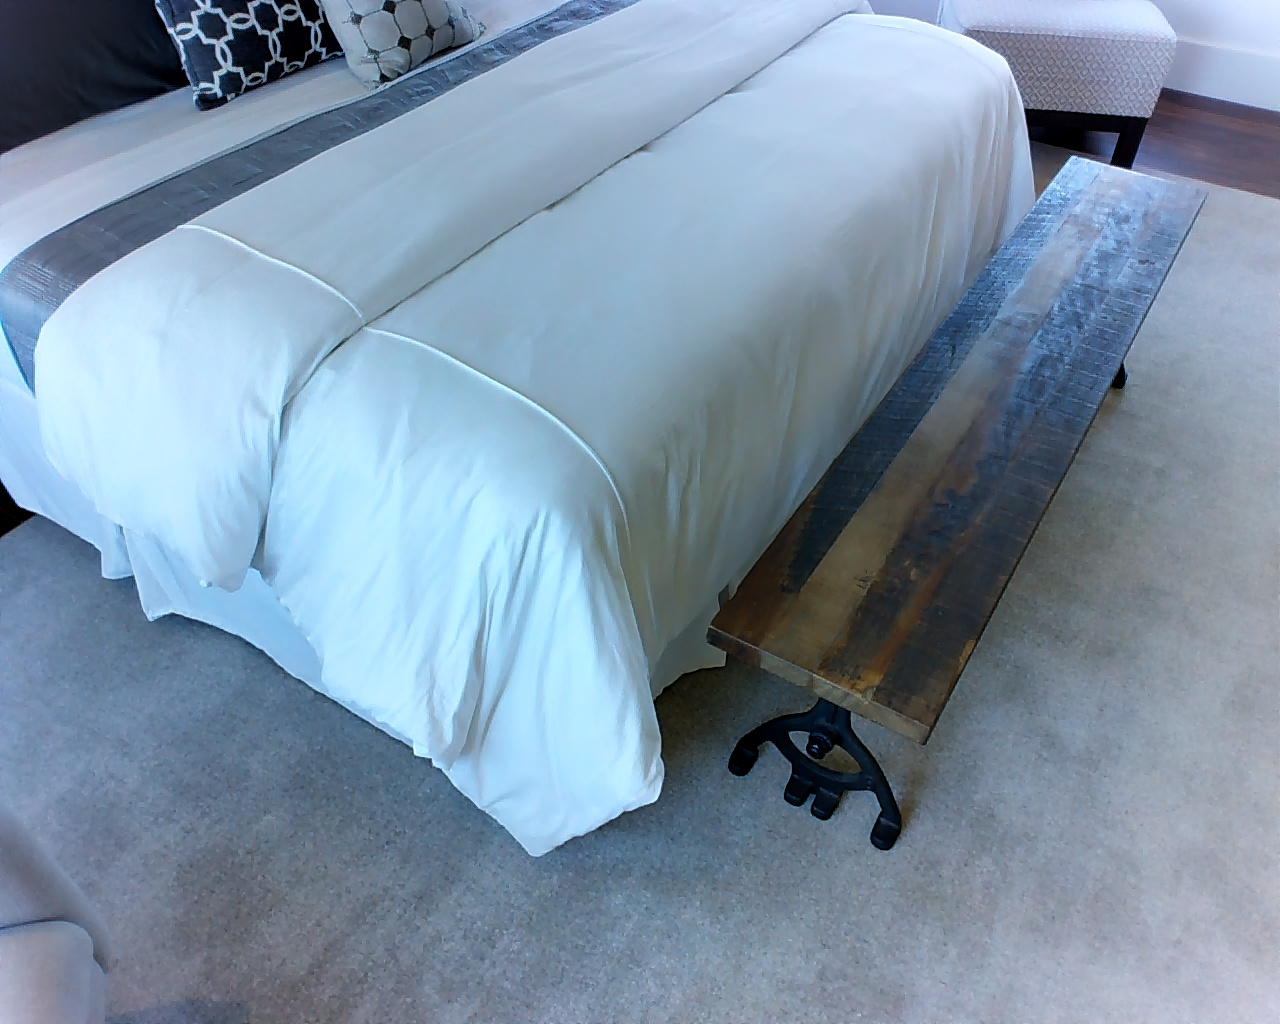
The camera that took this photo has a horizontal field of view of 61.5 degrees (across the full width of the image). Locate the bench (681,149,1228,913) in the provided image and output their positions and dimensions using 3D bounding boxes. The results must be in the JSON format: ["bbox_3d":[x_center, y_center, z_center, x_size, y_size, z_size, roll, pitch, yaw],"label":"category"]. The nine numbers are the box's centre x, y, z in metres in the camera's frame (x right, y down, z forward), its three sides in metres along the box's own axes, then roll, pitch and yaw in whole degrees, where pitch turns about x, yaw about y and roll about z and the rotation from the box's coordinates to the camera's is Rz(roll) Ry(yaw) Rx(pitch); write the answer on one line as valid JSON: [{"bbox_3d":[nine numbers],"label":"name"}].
[{"bbox_3d":[0.710,-0.140,2.120,0.380,0.450,1.810,23,46,23],"label":"bench"}]
